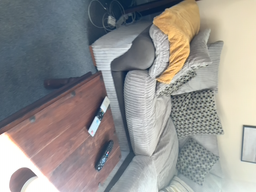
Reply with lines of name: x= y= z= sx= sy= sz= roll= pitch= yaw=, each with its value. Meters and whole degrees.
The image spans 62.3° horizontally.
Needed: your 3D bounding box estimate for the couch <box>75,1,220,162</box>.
couch: x=0.330 y=-0.230 z=1.960 sx=1.120 sy=0.870 sz=0.980 roll=-46 pitch=131 yaw=-52
